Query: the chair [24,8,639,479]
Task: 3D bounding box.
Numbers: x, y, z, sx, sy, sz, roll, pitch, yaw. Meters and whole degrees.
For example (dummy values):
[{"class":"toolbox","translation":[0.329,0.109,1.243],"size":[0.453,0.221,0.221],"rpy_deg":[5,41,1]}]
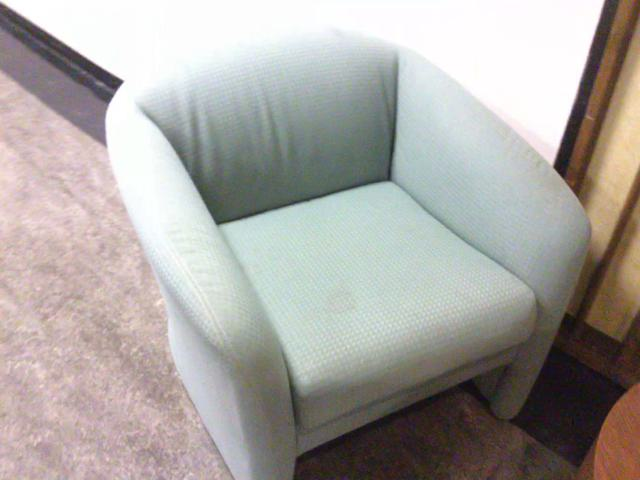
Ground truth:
[{"class":"chair","translation":[0.020,0.050,1.400],"size":[1.050,0.770,0.940],"rpy_deg":[-16,47,-24]}]
